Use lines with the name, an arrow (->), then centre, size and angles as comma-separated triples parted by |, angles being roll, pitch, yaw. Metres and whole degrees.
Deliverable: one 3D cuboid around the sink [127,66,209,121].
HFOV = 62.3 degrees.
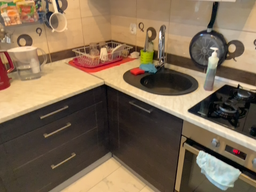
sink -> 0.300, -0.050, 1.620 | 0.460, 0.150, 0.410 | -25, 37, -38
